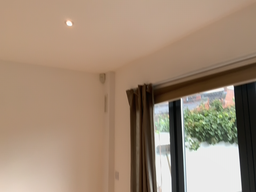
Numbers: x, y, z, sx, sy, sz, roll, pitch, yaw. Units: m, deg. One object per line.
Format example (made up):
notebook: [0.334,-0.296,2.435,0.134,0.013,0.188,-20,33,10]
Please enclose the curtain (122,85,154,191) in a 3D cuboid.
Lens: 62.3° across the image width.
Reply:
curtain: [0.090,0.950,2.210,0.070,2.060,0.520,5,-11,-29]
